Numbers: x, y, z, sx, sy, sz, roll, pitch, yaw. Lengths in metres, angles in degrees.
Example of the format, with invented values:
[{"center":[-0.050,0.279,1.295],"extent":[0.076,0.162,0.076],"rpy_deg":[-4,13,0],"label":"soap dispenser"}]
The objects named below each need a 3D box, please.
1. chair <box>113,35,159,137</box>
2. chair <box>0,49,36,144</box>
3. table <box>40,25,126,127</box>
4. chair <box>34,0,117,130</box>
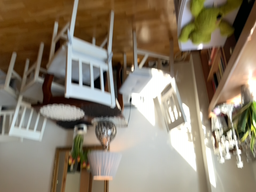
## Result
[{"center":[0.090,-0.080,2.180],"extent":[0.380,0.890,0.510],"rpy_deg":[-4,156,7],"label":"chair"},{"center":[-1.430,0.030,2.380],"extent":[0.380,0.890,0.560],"rpy_deg":[-4,156,7],"label":"chair"},{"center":[-0.380,-0.150,2.180],"extent":[0.590,0.740,0.730],"rpy_deg":[-5,156,9],"label":"table"},{"center":[-0.420,-0.240,1.780],"extent":[0.400,0.890,0.560],"rpy_deg":[17,151,-35],"label":"chair"}]
